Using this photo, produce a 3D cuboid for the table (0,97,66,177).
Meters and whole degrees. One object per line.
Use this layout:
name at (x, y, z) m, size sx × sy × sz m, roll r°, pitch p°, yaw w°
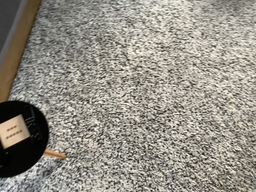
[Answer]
table at (-0.480, 0.200, 0.950) m, size 0.280 × 0.350 × 0.270 m, roll 8°, pitch 68°, yaw -3°
